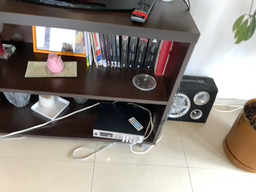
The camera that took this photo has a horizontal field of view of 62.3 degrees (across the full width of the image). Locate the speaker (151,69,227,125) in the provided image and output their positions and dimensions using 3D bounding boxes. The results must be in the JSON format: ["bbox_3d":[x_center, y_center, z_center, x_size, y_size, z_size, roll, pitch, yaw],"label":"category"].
[{"bbox_3d":[0.360,0.010,1.340,0.370,0.250,0.200,6,45,-5],"label":"speaker"}]
